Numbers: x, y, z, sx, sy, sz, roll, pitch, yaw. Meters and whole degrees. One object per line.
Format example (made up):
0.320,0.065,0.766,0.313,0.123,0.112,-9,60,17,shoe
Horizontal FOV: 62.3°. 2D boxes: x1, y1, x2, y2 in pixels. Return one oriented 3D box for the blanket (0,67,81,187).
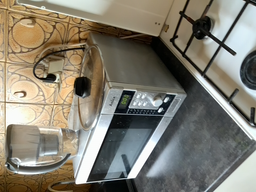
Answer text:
-0.330,0.100,0.790,0.240,0.210,0.350,-66,32,33,blanket
